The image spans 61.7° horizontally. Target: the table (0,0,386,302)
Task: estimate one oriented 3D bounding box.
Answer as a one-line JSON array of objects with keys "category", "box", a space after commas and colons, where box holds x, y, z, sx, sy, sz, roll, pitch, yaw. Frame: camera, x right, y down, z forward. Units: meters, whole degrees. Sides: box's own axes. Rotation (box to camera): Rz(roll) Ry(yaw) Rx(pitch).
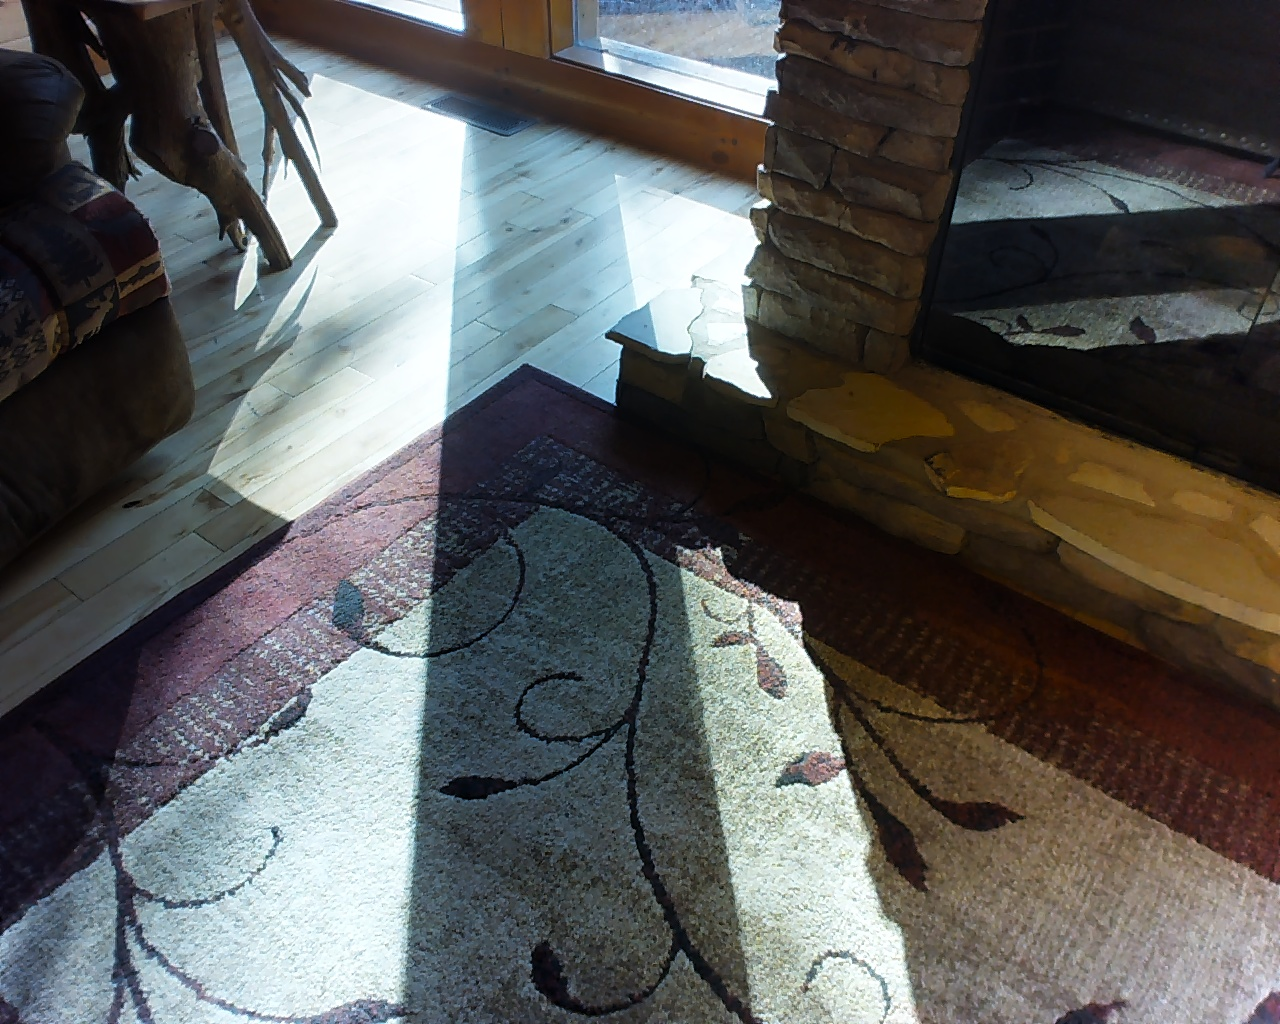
[{"category": "table", "box": [-1.040, -0.950, 2.370, 0.690, 0.640, 0.490, 22, 47, 22]}]
